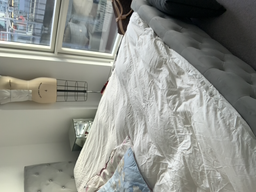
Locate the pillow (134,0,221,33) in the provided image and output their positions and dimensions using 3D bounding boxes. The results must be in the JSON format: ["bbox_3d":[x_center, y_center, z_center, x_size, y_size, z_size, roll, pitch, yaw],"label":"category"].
[{"bbox_3d":[0.340,-0.730,1.600,0.470,0.420,0.240,62,140,42],"label":"pillow"}]
